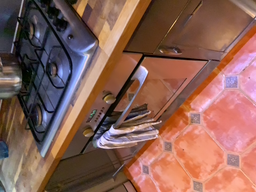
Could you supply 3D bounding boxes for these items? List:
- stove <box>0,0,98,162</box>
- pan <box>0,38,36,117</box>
[{"bbox_3d":[-0.380,-0.140,0.840,0.580,0.030,0.570,54,128,26],"label":"stove"},{"bbox_3d":[-0.540,-0.080,0.920,0.240,0.140,0.240,52,127,27],"label":"pan"}]
